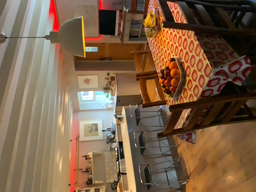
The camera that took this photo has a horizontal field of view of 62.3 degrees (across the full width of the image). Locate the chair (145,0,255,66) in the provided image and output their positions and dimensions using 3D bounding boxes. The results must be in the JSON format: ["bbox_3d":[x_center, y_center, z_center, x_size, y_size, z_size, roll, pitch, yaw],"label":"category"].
[{"bbox_3d":[0.720,-0.640,1.990,0.510,0.980,0.480,99,165,-49],"label":"chair"}]
